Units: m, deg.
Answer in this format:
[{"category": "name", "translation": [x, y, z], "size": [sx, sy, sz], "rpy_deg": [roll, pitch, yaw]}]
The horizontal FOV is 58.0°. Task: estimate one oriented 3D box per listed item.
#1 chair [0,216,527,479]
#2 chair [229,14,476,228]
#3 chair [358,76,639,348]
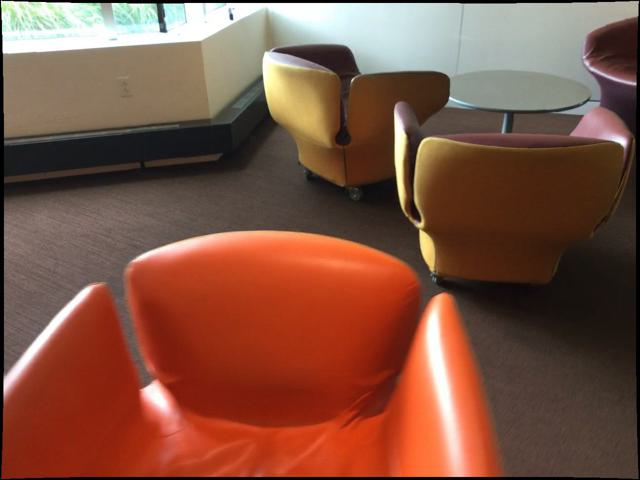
[{"category": "chair", "translation": [-0.170, 0.521, 1.210], "size": [0.958, 0.801, 0.891], "rpy_deg": [-1, 30, 6]}, {"category": "chair", "translation": [0.140, -0.742, 3.240], "size": [0.888, 0.781, 1.070], "rpy_deg": [-17, 32, -22]}, {"category": "chair", "translation": [0.648, -0.180, 2.330], "size": [0.828, 0.721, 0.900], "rpy_deg": [3, 30, 13]}]
